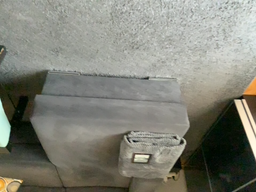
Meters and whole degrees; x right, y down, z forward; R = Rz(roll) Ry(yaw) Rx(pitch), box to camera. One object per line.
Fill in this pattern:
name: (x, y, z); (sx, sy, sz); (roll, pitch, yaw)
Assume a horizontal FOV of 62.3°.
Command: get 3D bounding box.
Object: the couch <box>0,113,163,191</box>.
couch: (-0.980, 0.810, 2.080); (2.390, 0.790, 1.120); (2, 143, -4)
